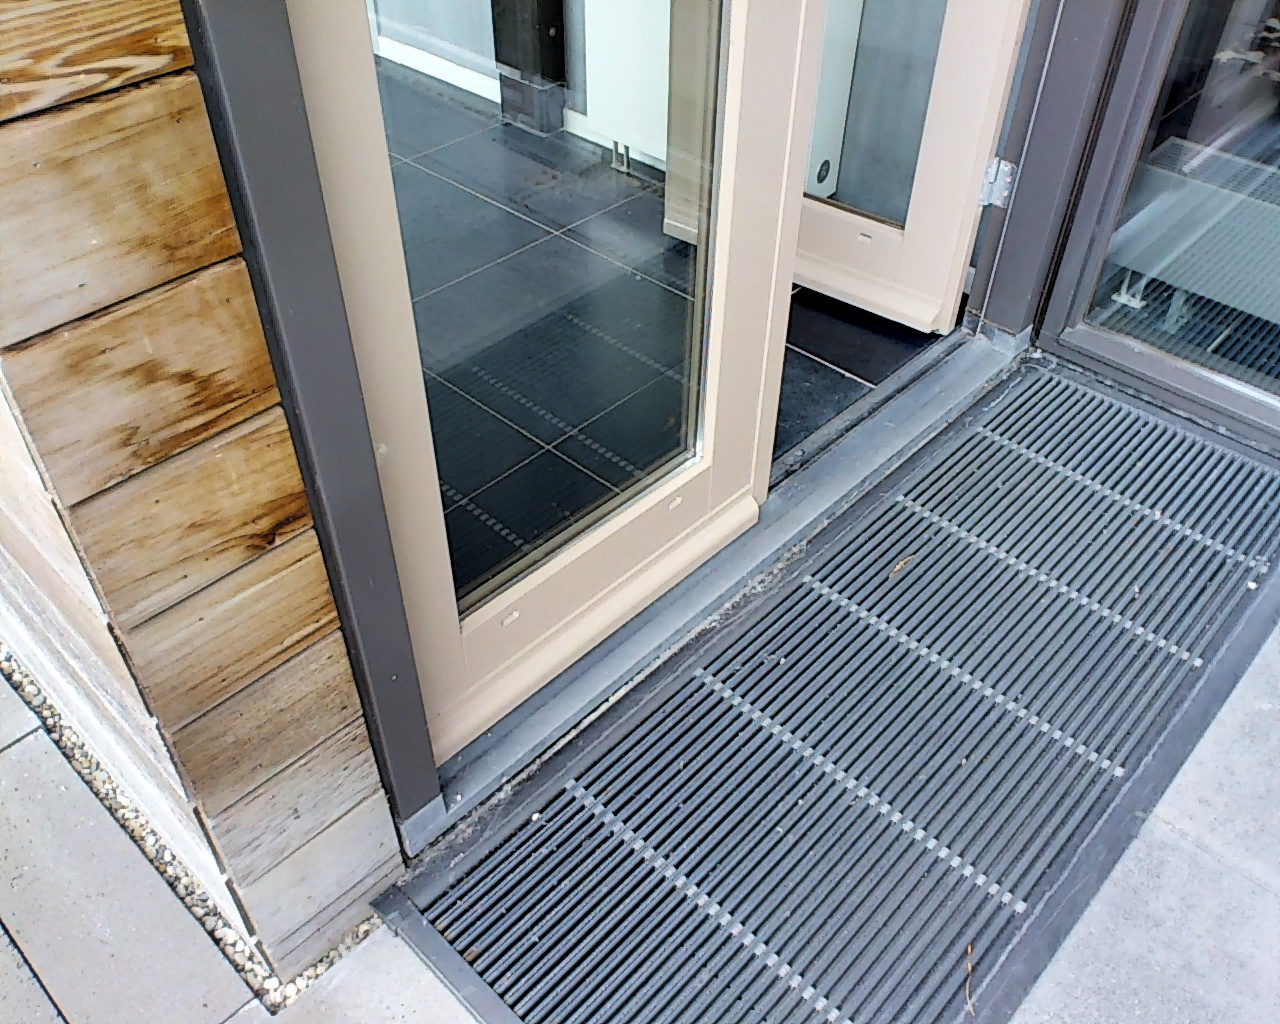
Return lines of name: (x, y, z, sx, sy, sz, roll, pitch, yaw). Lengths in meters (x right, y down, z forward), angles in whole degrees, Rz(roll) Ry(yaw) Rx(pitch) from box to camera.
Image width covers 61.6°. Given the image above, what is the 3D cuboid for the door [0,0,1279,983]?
door: (0.210, -1.050, 1.230, 0.970, 2.530, 1.840, 14, 44, 14)
